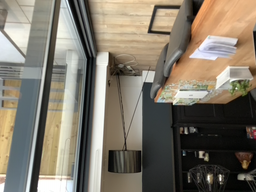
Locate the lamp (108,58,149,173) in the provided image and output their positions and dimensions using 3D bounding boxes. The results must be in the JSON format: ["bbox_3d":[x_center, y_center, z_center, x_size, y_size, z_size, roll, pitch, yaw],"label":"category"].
[{"bbox_3d":[-0.010,0.310,3.460,0.570,1.750,0.550,2,164,-5],"label":"lamp"}]

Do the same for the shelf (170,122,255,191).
[{"bbox_3d":[1.430,1.160,3.420,1.370,1.390,0.410,1,164,-2],"label":"shelf"}]
